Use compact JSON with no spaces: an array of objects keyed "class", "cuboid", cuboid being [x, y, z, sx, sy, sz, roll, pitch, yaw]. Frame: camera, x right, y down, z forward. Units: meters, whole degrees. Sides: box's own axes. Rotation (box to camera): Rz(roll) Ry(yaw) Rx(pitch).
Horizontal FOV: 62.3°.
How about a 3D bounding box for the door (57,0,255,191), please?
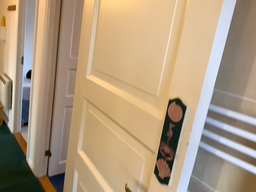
[{"class":"door","cuboid":[-0.080,0.200,0.860,0.090,2.160,0.970,1,16,-32]}]
